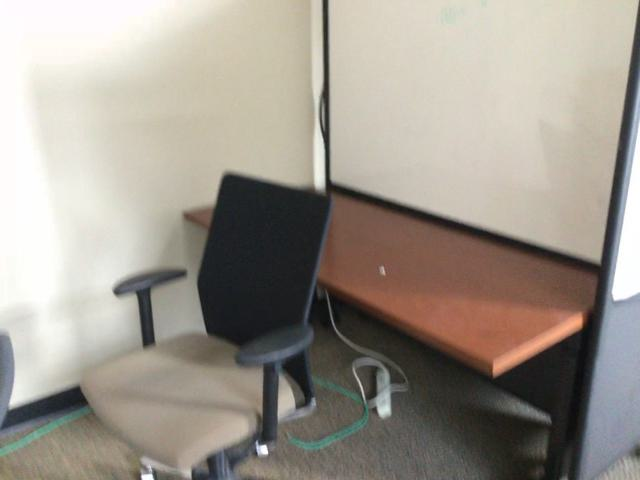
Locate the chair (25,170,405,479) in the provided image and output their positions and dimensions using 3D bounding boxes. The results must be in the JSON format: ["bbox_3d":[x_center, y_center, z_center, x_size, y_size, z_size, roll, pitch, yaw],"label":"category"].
[{"bbox_3d":[-0.260,0.390,1.620,0.700,0.950,0.650,-19,25,-31],"label":"chair"}]

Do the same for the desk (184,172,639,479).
[{"bbox_3d":[0.220,0.320,2.100,0.730,0.760,1.550,-19,25,-31],"label":"desk"}]
